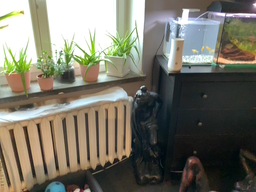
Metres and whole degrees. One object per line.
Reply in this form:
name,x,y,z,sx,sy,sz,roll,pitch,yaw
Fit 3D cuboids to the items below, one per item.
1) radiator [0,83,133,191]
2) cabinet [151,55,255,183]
radiator,-0.510,0.370,1.660,1.110,0.730,0.270,-13,28,-29
cabinet,0.750,0.180,1.830,0.970,0.950,0.520,0,24,-4
